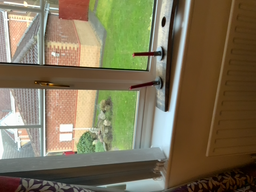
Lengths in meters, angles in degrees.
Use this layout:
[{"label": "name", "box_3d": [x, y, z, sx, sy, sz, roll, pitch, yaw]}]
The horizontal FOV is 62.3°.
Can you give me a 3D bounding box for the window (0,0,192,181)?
[{"label": "window", "box_3d": [-0.390, -0.390, 1.030, 0.220, 1.450, 1.610, -143, 56, -66]}]
